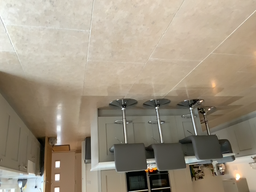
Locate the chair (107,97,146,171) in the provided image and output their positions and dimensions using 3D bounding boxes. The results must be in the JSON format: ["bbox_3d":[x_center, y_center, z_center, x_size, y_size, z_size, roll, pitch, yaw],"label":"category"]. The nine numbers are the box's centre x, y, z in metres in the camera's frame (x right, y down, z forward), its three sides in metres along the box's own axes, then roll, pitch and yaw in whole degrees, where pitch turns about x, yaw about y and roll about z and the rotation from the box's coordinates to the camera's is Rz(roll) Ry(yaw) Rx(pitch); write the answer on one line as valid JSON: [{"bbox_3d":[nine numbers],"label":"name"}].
[{"bbox_3d":[-0.050,0.560,3.130,0.410,1.000,0.450,0,159,-14],"label":"chair"}]
